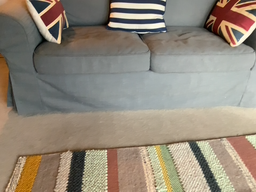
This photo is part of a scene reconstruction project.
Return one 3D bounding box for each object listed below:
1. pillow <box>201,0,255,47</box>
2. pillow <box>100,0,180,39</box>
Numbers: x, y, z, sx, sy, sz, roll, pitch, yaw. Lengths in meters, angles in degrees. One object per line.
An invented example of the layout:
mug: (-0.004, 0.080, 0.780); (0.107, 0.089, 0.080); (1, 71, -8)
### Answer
pillow: (0.680, -0.530, 1.400); (0.150, 0.280, 0.310); (23, 29, -18)
pillow: (0.100, -0.680, 1.440); (0.450, 0.400, 0.150); (20, 30, -17)
